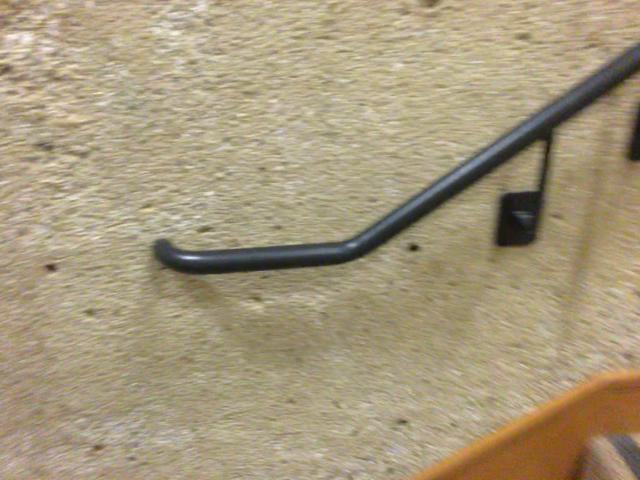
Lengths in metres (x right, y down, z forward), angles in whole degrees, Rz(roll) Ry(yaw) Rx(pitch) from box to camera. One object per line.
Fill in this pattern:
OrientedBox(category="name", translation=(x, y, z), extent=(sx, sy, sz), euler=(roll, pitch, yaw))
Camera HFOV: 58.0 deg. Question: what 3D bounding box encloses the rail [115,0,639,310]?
OrientedBox(category="rail", translation=(0.240, -0.130, 0.880), extent=(1.000, 0.490, 0.080), euler=(-1, 29, -7))
